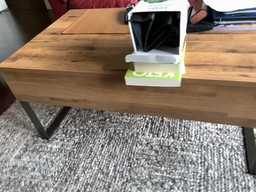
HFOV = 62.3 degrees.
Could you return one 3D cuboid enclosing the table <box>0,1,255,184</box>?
[{"bbox_3d":[0.080,-0.080,1.010,0.990,0.470,0.610,5,42,17],"label":"table"}]
